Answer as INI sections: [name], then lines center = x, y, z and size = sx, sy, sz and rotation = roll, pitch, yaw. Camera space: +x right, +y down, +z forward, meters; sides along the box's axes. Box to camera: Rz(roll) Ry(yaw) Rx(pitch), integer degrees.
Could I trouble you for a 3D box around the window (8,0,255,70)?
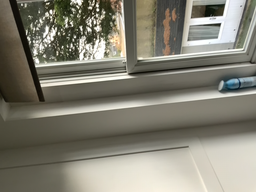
[window]
center = 0.080, -0.520, 1.020
size = 0.070, 1.260, 0.730
rotation = -100, 6, -53
